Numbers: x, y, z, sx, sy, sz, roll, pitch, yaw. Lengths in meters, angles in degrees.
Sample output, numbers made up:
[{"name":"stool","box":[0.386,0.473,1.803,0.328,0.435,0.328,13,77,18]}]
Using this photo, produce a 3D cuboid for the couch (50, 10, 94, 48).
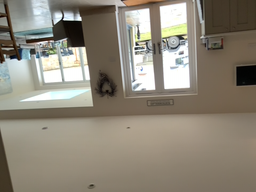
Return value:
[{"name":"couch","box":[-1.410,-1.660,5.350,0.710,0.780,0.810,-13,-166,-36]}]
